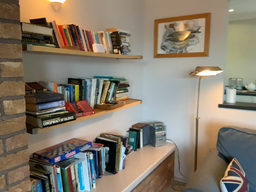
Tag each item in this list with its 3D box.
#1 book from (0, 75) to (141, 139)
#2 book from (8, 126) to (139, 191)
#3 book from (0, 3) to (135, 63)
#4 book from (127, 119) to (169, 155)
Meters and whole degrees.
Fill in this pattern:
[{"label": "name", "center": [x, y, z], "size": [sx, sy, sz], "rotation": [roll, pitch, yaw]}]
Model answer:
[{"label": "book", "center": [-0.350, 0.000, 1.740], "size": [0.240, 0.290, 1.370], "rotation": [5, 10, 34]}, {"label": "book", "center": [-0.310, 0.540, 1.740], "size": [0.210, 0.300, 1.180], "rotation": [5, 10, 34]}, {"label": "book", "center": [-0.350, -0.420, 1.690], "size": [0.160, 0.290, 1.270], "rotation": [5, 10, 33]}, {"label": "book", "center": [0.240, 0.460, 2.500], "size": [0.300, 0.260, 0.460], "rotation": [6, 10, 35]}]
